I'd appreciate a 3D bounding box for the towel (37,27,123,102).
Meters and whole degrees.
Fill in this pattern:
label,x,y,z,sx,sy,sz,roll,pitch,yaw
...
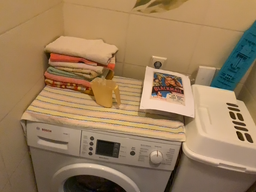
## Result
label,x,y,z,sx,sy,sz,roll,pitch,yaw
towel,-0.200,-0.160,0.980,0.280,0.180,0.300,12,35,4

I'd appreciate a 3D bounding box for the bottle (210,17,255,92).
label,x,y,z,sx,sy,sz,roll,pitch,yaw
bottle,0.520,-0.180,0.980,0.160,0.320,0.060,11,35,2
